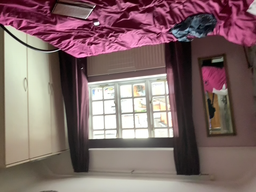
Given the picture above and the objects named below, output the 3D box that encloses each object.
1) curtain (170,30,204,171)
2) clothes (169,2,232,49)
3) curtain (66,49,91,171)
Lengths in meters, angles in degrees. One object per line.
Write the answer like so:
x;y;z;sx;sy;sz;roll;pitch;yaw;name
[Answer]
0.900;0.050;3.260;0.320;2.100;0.150;-5;174;19;curtain
0.680;-0.620;2.000;0.470;0.090;0.690;-5;174;20;clothes
-0.880;0.230;3.790;0.290;2.090;0.230;-5;174;20;curtain
